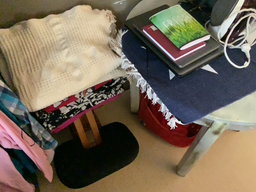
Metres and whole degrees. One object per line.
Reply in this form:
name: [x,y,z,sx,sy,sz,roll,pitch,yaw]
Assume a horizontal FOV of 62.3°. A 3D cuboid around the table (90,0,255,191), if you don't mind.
table: [0.420,-0.070,1.310,0.920,0.780,0.910,-24,58,-19]
